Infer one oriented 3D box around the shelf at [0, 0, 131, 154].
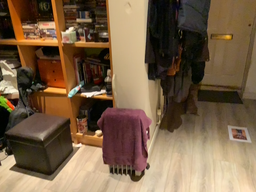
[{"bbox_3d":[-1.230,-0.560,2.270,2.450,2.070,0.420,6,25,17],"label":"shelf"}]
